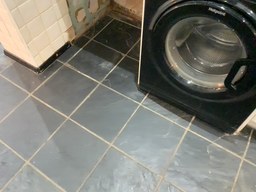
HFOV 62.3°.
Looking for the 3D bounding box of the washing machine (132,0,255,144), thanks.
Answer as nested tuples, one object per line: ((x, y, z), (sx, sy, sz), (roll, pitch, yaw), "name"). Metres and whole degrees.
((0.470, -0.370, 1.040), (0.600, 0.900, 0.700), (28, 59, 18), "washing machine")
